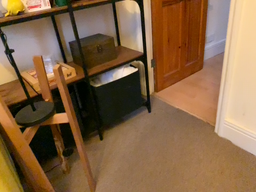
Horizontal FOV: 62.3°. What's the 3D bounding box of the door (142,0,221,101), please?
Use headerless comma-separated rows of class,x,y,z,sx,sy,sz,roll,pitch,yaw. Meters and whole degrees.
door,0.520,-1.120,1.850,0.980,2.200,0.180,-28,37,-32
